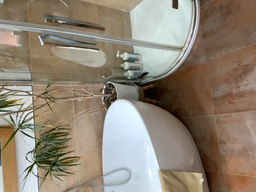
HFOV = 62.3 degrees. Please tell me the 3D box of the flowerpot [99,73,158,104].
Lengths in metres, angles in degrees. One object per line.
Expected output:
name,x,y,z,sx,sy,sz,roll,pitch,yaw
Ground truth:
flowerpot,0.010,-0.070,2.130,0.240,0.530,0.240,-20,75,52
